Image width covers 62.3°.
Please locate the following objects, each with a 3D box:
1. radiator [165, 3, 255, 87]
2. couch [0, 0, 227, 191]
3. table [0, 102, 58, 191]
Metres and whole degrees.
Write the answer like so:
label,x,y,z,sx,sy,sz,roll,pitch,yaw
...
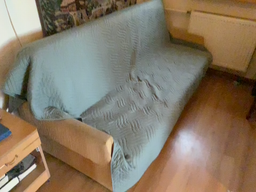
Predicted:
label,x,y,z,sx,sy,sz,roll,pitch,yaw
radiator,1.010,-0.650,2.710,0.950,0.830,0.200,21,40,23
couch,0.150,-0.270,2.020,0.890,0.940,2.100,21,40,23
table,-0.800,0.420,1.350,0.440,0.530,0.420,21,40,23
